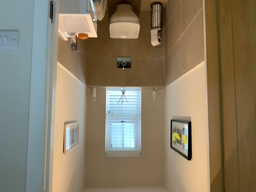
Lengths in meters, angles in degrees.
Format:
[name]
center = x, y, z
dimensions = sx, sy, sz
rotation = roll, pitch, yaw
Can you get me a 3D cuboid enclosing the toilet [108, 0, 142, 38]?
[toilet]
center = -0.040, -1.000, 2.680
dimensions = 0.390, 0.340, 0.530
rotation = 1, 175, -1
